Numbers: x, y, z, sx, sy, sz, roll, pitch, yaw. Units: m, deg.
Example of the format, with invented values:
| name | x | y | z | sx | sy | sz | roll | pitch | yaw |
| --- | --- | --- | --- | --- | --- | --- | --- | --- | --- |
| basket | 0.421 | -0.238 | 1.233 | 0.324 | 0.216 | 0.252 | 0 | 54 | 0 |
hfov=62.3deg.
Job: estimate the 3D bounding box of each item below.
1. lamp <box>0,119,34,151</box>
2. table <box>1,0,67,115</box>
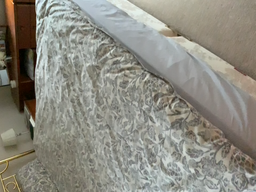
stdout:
| name | x | y | z | sx | sy | sz | roll | pitch | yaw |
| --- | --- | --- | --- | --- | --- | --- | --- | --- | --- |
| lamp | -1.490 | 0.510 | 2.820 | 0.230 | 0.370 | 0.220 | 44 | 133 | 34 |
| table | -1.370 | -0.570 | 3.100 | 0.510 | 0.620 | 1.660 | 45 | 133 | 33 |
